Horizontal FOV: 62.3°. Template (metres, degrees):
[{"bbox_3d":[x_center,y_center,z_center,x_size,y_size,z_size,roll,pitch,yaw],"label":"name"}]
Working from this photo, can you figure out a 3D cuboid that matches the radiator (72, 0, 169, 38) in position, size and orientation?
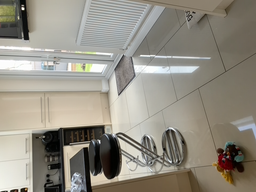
[{"bbox_3d":[-0.070,-0.860,1.990,0.680,0.790,0.150,131,133,-57],"label":"radiator"}]
